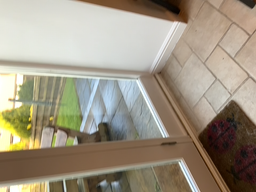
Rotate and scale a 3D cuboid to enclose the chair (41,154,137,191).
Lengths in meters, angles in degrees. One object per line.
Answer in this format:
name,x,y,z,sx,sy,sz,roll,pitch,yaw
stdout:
chair,-0.400,1.230,2.320,0.470,0.950,0.960,-66,35,37
